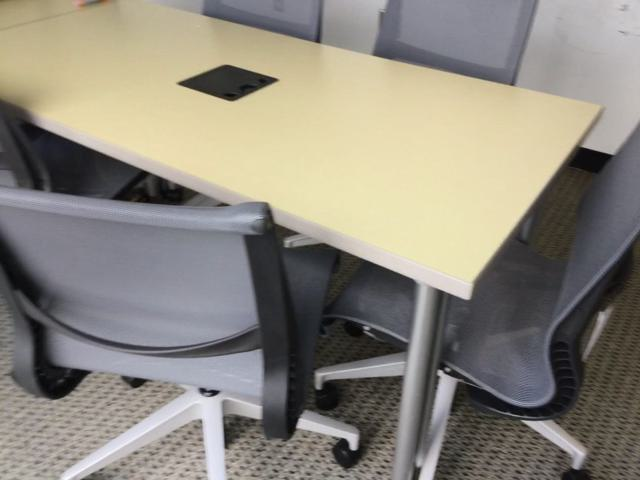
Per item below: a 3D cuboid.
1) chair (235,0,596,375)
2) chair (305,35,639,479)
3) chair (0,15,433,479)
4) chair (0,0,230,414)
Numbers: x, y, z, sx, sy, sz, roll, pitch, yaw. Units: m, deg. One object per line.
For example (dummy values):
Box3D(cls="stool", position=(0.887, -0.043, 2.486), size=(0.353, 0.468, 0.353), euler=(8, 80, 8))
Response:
Box3D(cls="chair", position=(0.240, -0.260, 1.680), size=(0.670, 0.900, 0.620), euler=(25, 42, 29))
Box3D(cls="chair", position=(0.360, 0.070, 1.170), size=(0.570, 0.720, 0.560), euler=(19, 39, 22))
Box3D(cls="chair", position=(-0.210, 0.020, 1.000), size=(0.620, 0.560, 0.660), euler=(13, 38, 15))
Box3D(cls="chair", position=(-0.690, -0.180, 1.530), size=(0.520, 0.900, 0.680), euler=(22, 41, 26))
